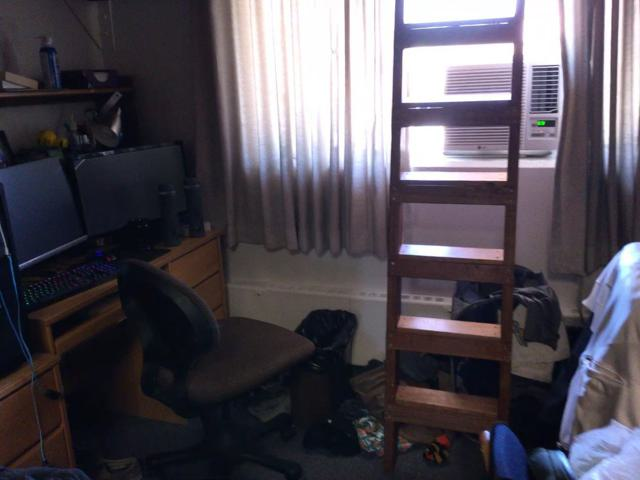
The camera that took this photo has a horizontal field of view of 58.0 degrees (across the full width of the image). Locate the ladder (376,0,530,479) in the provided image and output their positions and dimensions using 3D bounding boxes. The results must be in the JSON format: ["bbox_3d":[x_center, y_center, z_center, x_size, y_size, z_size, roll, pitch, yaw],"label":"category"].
[{"bbox_3d":[0.450,0.020,2.020,0.460,1.660,0.240,2,11,16],"label":"ladder"}]

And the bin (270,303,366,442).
[{"bbox_3d":[0.010,0.540,2.480,0.270,0.390,0.510,2,11,16],"label":"bin"}]
